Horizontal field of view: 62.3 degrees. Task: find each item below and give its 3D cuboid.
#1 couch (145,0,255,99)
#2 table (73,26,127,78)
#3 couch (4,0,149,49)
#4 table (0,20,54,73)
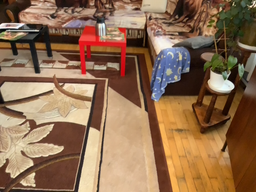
[{"bbox_3d":[0.790,-0.790,2.750,0.960,0.930,1.480,2,35,-2],"label":"couch"},{"bbox_3d":[-0.330,-0.600,2.820,0.610,0.430,0.640,3,35,-1],"label":"table"},{"bbox_3d":[-0.750,-1.480,3.550,2.090,0.960,0.910,2,35,-2],"label":"couch"},{"bbox_3d":[-1.360,-0.660,2.760,0.540,0.470,0.550,4,35,0],"label":"table"}]
